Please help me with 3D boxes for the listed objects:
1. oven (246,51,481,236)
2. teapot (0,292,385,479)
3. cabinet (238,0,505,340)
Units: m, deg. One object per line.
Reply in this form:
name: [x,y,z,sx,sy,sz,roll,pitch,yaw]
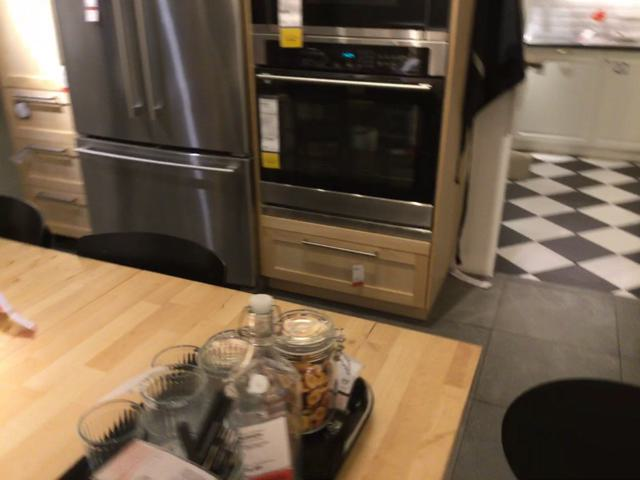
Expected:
oven: [0.200,-0.460,2.470,0.780,0.560,0.650,11,26,21]
teapot: [-0.130,0.250,0.680,0.330,0.210,0.280,11,26,21]
cabinet: [0.220,-0.670,2.320,0.860,1.920,0.630,11,26,21]
